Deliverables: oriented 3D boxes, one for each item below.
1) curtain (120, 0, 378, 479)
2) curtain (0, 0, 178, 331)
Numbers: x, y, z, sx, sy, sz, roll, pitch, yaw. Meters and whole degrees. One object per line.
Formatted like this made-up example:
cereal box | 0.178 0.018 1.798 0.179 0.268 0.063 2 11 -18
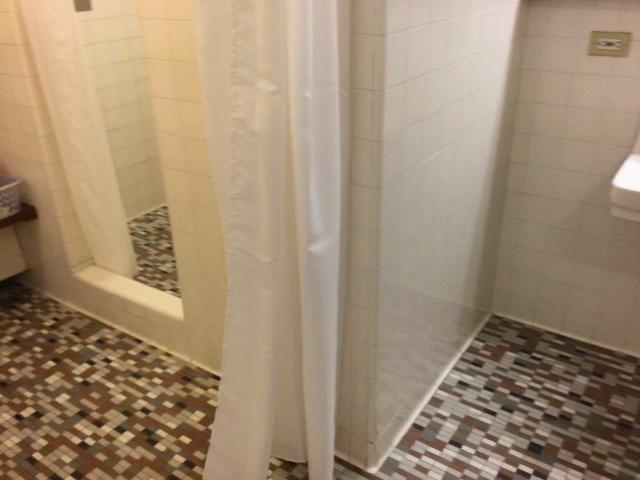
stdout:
curtain | -0.100 -0.070 1.230 0.290 1.630 0.380 15 30 32
curtain | -0.860 -0.610 2.070 0.290 1.940 0.310 15 30 32
